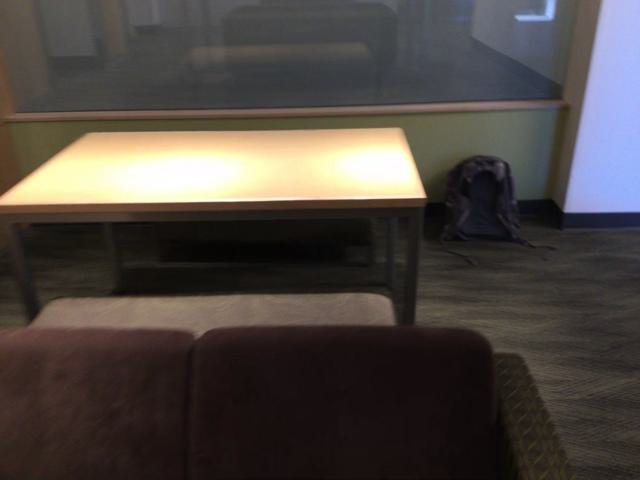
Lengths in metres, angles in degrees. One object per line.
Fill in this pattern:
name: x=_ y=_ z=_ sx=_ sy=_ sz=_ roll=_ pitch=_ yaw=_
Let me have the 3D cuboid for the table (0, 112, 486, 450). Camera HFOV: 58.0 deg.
table: x=-0.280 y=0.090 z=2.100 sx=1.380 sy=0.870 sz=0.910 roll=1 pitch=24 yaw=-3
